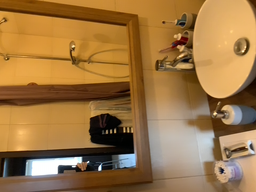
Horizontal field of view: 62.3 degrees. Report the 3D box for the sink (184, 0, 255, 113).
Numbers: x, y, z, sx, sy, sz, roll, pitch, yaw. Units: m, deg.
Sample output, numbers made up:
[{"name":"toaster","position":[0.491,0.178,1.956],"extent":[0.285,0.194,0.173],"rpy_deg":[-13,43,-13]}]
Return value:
[{"name":"sink","position":[0.400,-0.180,0.850],"extent":[0.360,0.130,0.430],"rpy_deg":[134,135,-67]}]
